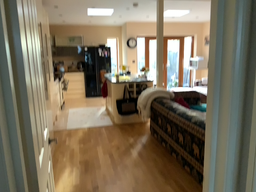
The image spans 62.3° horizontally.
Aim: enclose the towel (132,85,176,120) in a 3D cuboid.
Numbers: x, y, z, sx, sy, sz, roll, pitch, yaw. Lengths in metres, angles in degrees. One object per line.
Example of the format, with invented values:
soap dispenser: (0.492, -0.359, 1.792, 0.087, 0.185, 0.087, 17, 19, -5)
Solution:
towel: (0.430, 0.090, 3.640, 0.600, 0.470, 0.490, -4, 11, -12)
